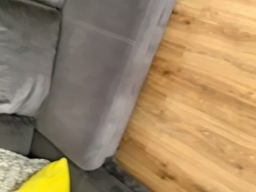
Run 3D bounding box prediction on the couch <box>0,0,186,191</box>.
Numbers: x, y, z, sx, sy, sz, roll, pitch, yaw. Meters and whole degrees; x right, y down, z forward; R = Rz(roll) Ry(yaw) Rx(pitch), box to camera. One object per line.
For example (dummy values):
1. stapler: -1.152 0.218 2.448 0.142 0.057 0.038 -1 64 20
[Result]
1. couch: -0.510 -0.110 1.380 1.010 0.820 2.800 28 104 29
